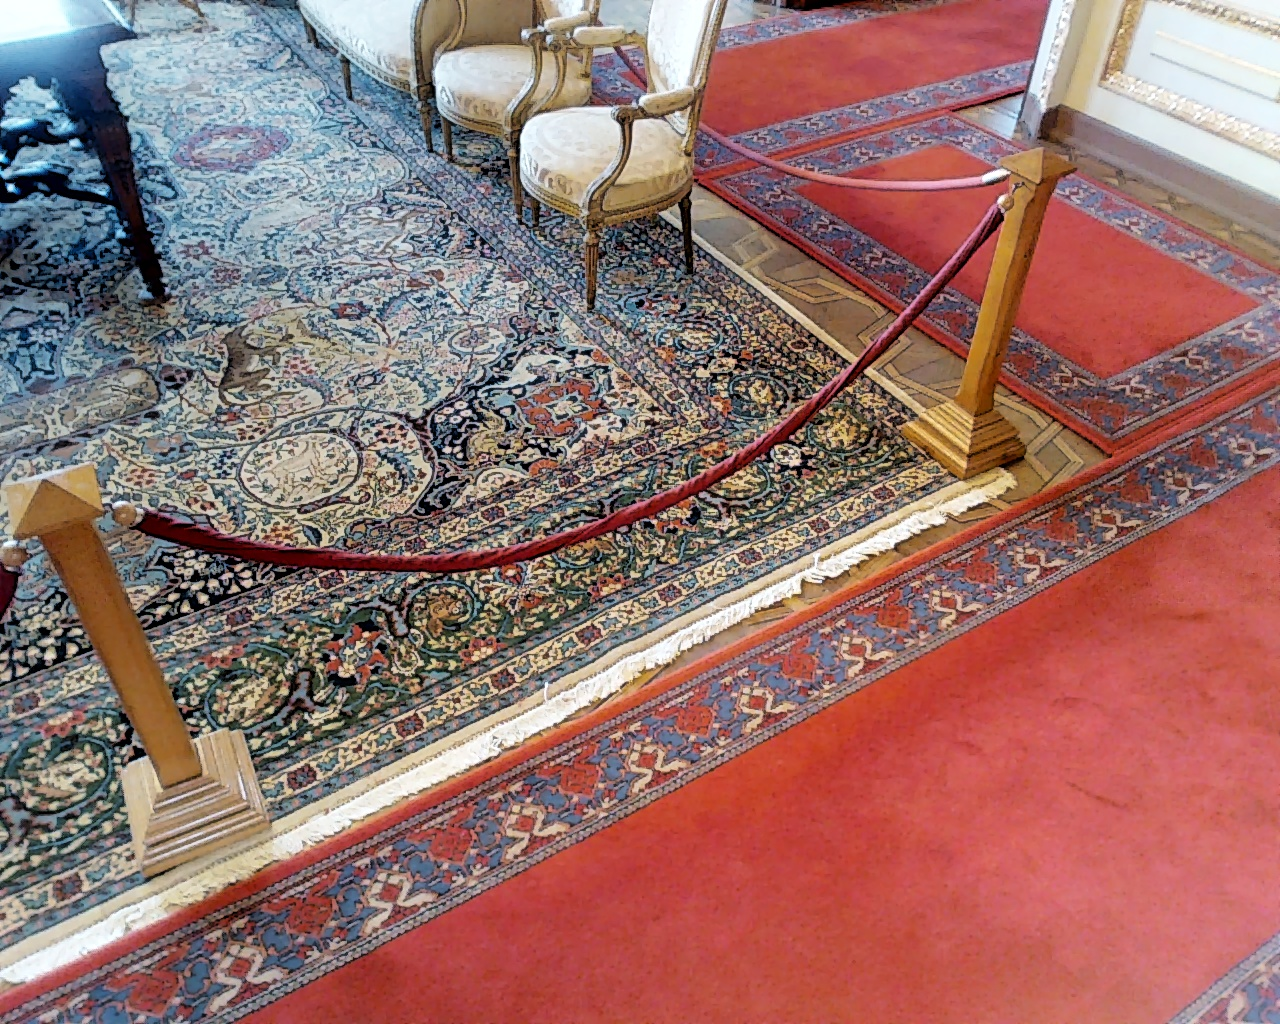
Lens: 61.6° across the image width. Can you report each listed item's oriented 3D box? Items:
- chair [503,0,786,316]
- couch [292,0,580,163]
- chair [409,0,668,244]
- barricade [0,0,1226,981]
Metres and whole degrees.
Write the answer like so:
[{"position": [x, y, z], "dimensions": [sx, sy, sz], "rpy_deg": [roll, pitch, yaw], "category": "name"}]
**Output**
[{"position": [-0.010, -1.160, 3.160], "dimensions": [0.610, 0.890, 0.570], "rpy_deg": [-14, 45, -16], "category": "chair"}, {"position": [-0.870, -2.141, 4.190], "dimensions": [0.660, 0.950, 1.350], "rpy_deg": [-23, 47, -23], "category": "couch"}, {"position": [-0.340, -1.510, 3.550], "dimensions": [0.600, 0.910, 0.650], "rpy_deg": [-22, 47, -23], "category": "chair"}, {"position": [-1.530, -0.590, 2.630], "dimensions": [4.539, 0.820, 3.160], "rpy_deg": [-23, 47, -23], "category": "barricade"}]
